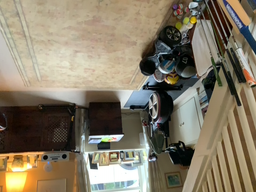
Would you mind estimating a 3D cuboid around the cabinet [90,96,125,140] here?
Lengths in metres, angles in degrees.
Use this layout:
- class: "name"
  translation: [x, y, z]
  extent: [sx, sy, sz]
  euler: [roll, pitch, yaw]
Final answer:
- class: "cabinet"
  translation: [-0.410, 0.420, 3.920]
  extent: [0.570, 0.620, 0.640]
  euler: [-1, 158, -10]

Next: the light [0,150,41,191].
- class: "light"
  translation: [-1.810, 1.270, 3.560]
  extent: [0.540, 0.640, 0.290]
  euler: [-3, 159, -6]
